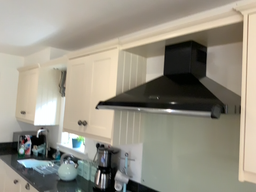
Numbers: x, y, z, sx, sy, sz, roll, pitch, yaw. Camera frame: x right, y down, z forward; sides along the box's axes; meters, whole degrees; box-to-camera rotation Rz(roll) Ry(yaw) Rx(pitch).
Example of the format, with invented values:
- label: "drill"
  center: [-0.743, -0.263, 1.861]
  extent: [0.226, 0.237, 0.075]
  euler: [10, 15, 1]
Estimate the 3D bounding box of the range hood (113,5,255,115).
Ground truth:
- label: "range hood"
  center: [0.320, -0.170, 1.440]
  extent: [0.330, 0.530, 0.860]
  euler: [6, -4, -45]
